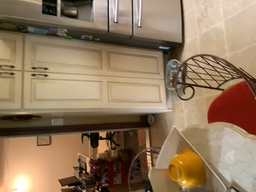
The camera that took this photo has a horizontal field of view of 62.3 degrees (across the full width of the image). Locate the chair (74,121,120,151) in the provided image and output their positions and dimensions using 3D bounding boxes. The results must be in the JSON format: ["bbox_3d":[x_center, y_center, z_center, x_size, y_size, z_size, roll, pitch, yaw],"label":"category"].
[{"bbox_3d":[-0.750,0.920,5.040,0.550,0.940,0.590,167,102,-64],"label":"chair"}]

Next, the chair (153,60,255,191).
[{"bbox_3d":[0.650,0.160,1.130,0.420,0.840,0.460,125,138,-49],"label":"chair"}]
